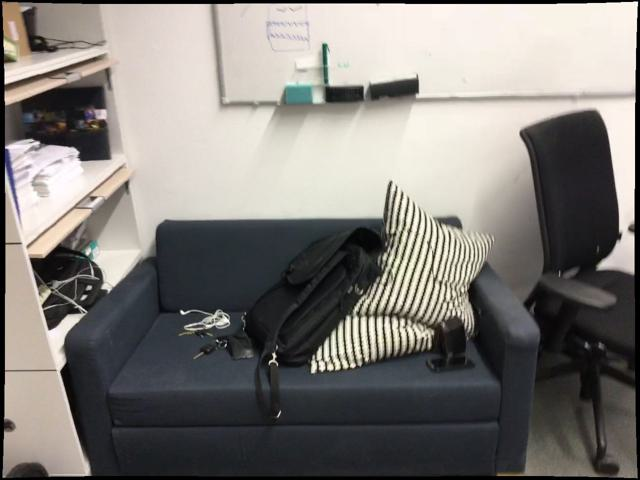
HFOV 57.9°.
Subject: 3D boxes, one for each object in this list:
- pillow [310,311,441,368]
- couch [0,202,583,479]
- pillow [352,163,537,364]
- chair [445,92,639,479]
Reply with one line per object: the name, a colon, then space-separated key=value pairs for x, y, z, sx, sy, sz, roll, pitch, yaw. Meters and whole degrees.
pillow: x=0.170 y=0.310 z=1.810 sx=0.390 sy=0.120 sz=0.130 roll=-1 pitch=25 yaw=3
couch: x=-0.070 y=0.330 z=2.050 sx=1.568 sy=0.651 sz=0.810 roll=-1 pitch=25 yaw=3
pillow: x=0.370 y=0.060 z=1.960 sx=0.509 sy=0.490 sz=0.520 roll=-1 pitch=25 yaw=3
chair: x=0.969 y=0.110 z=1.940 sx=0.610 sy=1.011 sz=0.820 roll=-22 pitch=31 yaw=-36
